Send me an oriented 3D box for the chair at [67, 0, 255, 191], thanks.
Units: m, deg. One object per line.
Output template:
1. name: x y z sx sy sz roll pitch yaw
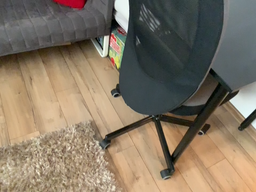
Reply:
1. chair: 0.190 -0.150 0.960 0.680 1.050 0.680 -20 57 -24
